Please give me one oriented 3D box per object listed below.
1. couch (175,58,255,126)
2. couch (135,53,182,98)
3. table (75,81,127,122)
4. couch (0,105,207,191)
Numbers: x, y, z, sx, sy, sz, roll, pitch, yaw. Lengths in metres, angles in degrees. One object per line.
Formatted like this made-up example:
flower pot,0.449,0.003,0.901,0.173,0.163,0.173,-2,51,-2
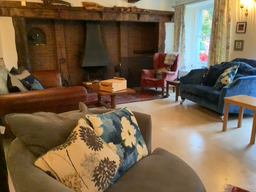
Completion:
couch,1.640,-0.170,3.710,1.100,0.870,1.200,-5,14,-18
couch,0.720,-0.540,5.080,0.750,0.940,0.840,11,18,39
table,-0.530,0.050,3.930,0.630,0.450,1.010,-8,16,-27
couch,-0.130,0.600,1.280,1.080,0.790,0.890,4,15,19
